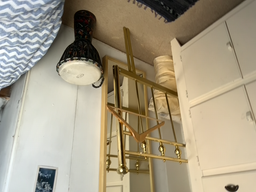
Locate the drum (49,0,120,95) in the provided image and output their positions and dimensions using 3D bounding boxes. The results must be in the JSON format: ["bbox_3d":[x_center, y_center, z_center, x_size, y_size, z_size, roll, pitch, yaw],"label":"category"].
[{"bbox_3d":[-0.260,-0.320,1.330,0.310,0.510,0.260,18,148,-36],"label":"drum"}]
